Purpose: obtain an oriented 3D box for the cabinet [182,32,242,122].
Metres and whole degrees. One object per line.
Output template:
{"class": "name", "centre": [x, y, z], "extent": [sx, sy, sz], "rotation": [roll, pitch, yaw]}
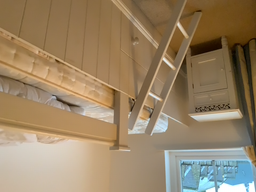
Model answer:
{"class": "cabinet", "centre": [0.790, -0.150, 2.000], "extent": [0.380, 0.690, 0.400], "rotation": [-11, 159, 32]}
